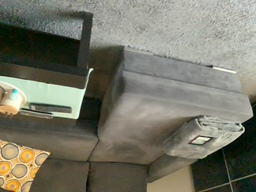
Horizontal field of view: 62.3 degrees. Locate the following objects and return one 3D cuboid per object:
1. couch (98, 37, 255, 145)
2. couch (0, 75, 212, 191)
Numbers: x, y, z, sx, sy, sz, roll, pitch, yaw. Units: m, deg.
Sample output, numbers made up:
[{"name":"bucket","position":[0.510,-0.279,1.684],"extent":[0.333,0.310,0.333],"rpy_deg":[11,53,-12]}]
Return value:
[{"name":"couch","position":[0.320,0.030,1.630],"extent":[0.970,0.410,0.650],"rpy_deg":[8,147,-14]},{"name":"couch","position":[-0.670,0.550,2.070],"extent":[2.470,0.820,1.130],"rpy_deg":[9,147,-14]}]
